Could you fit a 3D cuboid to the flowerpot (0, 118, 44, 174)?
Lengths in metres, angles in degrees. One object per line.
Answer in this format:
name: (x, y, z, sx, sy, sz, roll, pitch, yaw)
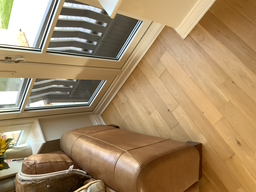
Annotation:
flowerpot: (-1.000, 0.410, 1.710, 0.300, 0.480, 0.280, 53, 127, 29)
